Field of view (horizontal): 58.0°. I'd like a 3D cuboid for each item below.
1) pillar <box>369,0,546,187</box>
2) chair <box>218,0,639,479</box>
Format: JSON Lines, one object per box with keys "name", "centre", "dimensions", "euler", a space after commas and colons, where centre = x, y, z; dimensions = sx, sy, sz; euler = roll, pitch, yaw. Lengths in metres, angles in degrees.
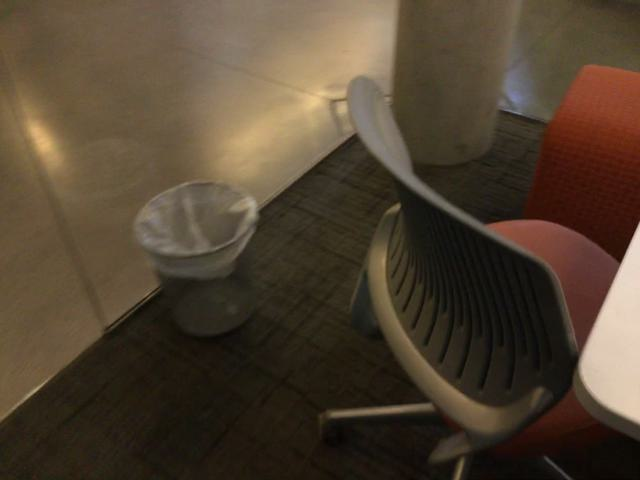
{"name": "pillar", "centre": [0.450, -0.680, 1.940], "dimensions": [0.450, 0.860, 0.330], "euler": [26, 50, 28]}
{"name": "chair", "centre": [0.310, 0.140, 1.050], "dimensions": [0.640, 0.910, 0.610], "euler": [-25, 47, -22]}
